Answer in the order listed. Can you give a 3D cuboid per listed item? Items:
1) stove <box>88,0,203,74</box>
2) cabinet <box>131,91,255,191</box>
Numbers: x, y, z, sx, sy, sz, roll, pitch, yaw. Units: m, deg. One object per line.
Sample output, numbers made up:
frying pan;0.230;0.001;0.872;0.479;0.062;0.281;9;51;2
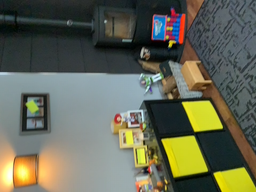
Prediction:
stove;0.120;-0.880;2.670;0.810;1.040;0.870;112;149;-50
cabinet;0.610;0.700;1.870;0.430;0.740;1.530;112;149;-49
